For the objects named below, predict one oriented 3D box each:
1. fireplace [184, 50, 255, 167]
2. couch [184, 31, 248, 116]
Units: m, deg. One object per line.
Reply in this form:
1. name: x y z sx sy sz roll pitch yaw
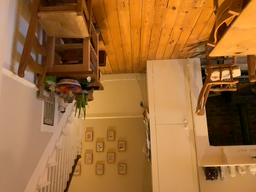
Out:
1. fireplace: 2.370 0.260 4.110 2.160 1.950 1.200 -2 168 4
2. couch: 1.410 -0.290 3.410 0.760 1.120 0.620 -8 166 29
